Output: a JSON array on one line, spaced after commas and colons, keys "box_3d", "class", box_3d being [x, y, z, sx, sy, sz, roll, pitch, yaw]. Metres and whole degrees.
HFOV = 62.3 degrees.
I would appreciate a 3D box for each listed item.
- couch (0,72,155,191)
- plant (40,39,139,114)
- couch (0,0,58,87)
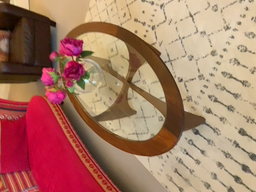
[{"box_3d": [-0.590, 0.840, 1.720, 2.470, 0.770, 1.030, 40, 116, 38], "class": "couch"}, {"box_3d": [-0.220, -0.100, 1.270, 0.210, 0.470, 0.330, 38, 115, 39], "class": "plant"}, {"box_3d": [-1.470, -0.590, 2.590, 0.910, 0.820, 0.790, -10, 82, 44], "class": "couch"}]
